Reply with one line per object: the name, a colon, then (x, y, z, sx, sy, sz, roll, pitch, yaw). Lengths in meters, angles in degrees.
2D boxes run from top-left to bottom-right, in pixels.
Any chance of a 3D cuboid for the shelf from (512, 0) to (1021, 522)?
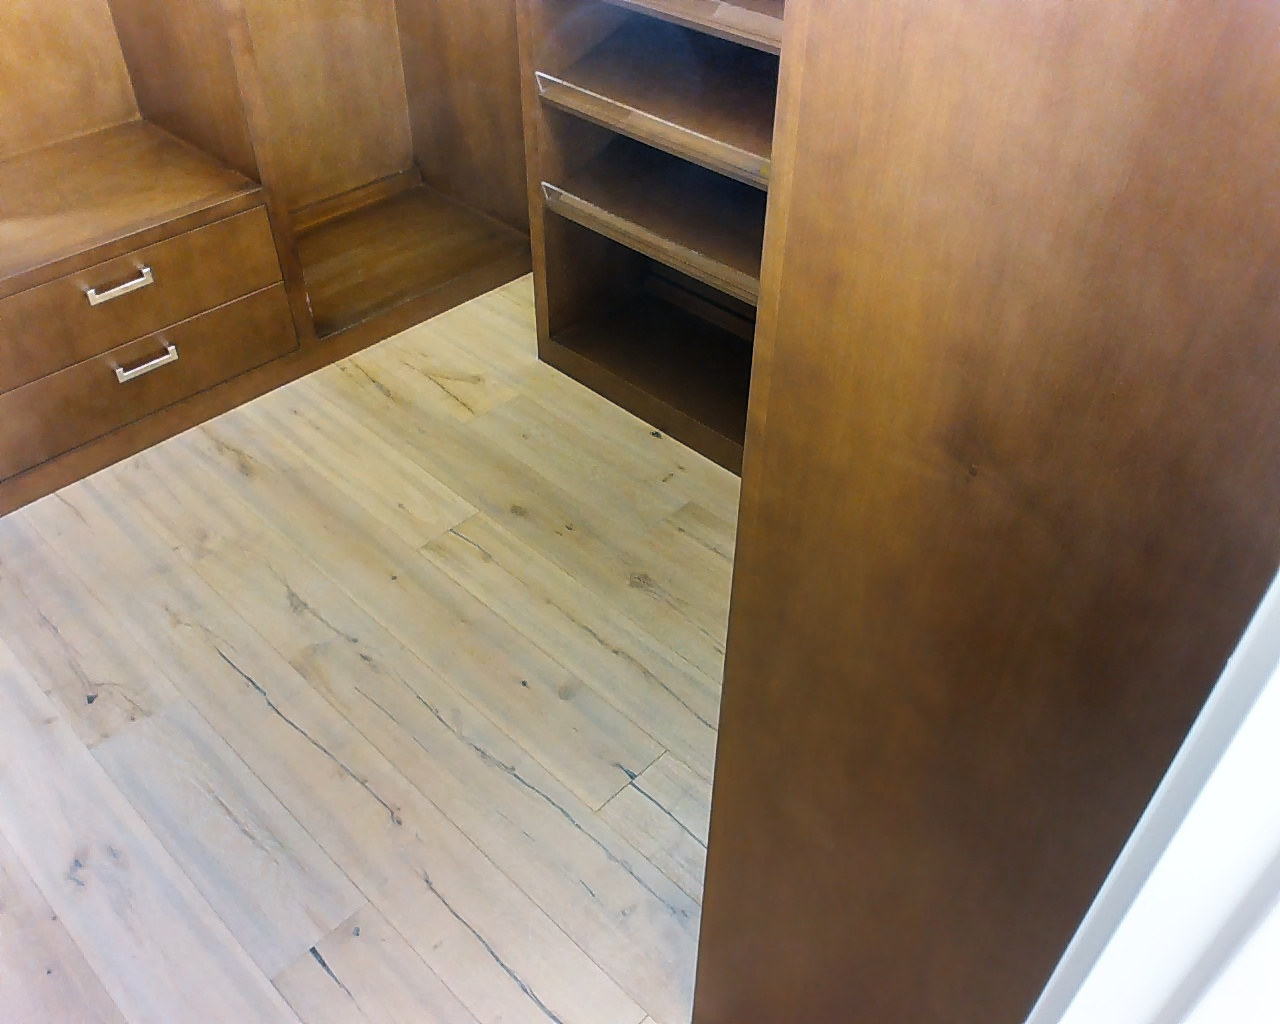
shelf: (0.210, -0.980, 2.180, 0.960, 1.820, 0.410, 33, 51, 31)
